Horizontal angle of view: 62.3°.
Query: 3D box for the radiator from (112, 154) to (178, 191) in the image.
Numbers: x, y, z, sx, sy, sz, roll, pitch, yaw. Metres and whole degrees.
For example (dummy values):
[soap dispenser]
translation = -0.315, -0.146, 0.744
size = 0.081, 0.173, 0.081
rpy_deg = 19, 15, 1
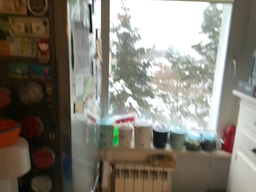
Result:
[radiator]
translation = 0.130, 0.830, 1.890
size = 0.540, 0.570, 0.170
rpy_deg = 2, 13, -1
